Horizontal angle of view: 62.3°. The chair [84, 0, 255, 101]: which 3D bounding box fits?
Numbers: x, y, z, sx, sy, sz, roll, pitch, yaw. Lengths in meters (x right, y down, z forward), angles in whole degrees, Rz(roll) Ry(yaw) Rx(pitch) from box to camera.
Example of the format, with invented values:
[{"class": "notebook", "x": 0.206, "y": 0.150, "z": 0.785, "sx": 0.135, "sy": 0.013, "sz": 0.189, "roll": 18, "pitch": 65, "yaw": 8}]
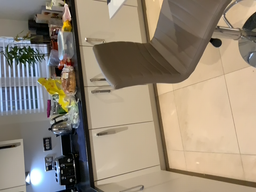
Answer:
[{"class": "chair", "x": 0.390, "y": -0.320, "z": 1.080, "sx": 0.400, "sy": 1.080, "sz": 0.470, "roll": 57, "pitch": 140, "yaw": 42}]
